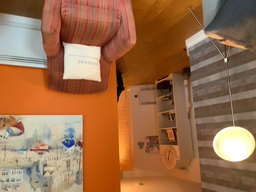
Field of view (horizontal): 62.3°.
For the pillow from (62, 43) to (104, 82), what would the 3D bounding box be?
[{"bbox_3d":[-0.460,-0.330,2.150,0.380,0.330,0.150,2,153,-22],"label":"pillow"}]
